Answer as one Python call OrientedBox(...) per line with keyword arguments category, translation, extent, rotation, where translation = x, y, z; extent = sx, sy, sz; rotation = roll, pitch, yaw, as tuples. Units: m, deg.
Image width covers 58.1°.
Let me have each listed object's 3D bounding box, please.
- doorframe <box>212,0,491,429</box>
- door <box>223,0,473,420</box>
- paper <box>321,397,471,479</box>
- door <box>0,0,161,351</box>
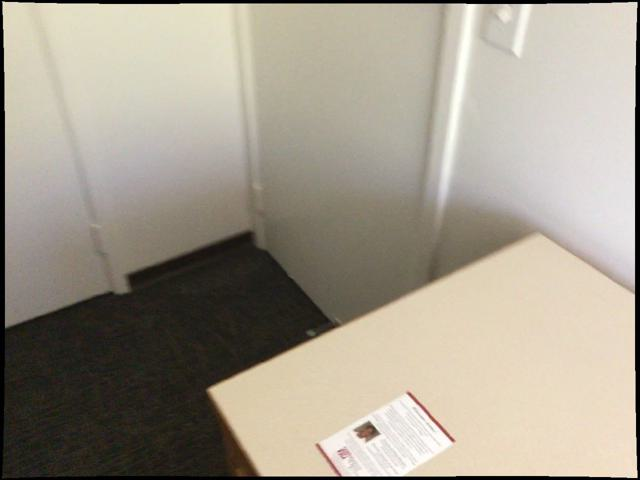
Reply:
OrientedBox(category="doorframe", translation=(-0.010, -0.211, 1.500), extent=(0.070, 1.162, 0.940), rotation=(-22, 42, -25))
OrientedBox(category="door", translation=(0.000, -0.201, 1.500), extent=(0.070, 1.162, 0.840), rotation=(-22, 42, -25))
OrientedBox(category="paper", translation=(0.080, 0.231, 0.610), extent=(0.130, 0.010, 0.090), rotation=(-22, 42, -25))
OrientedBox(category="door", translation=(-0.987, -0.190, 1.410), extent=(0.979, 1.262, 0.070), rotation=(-22, 42, -25))
